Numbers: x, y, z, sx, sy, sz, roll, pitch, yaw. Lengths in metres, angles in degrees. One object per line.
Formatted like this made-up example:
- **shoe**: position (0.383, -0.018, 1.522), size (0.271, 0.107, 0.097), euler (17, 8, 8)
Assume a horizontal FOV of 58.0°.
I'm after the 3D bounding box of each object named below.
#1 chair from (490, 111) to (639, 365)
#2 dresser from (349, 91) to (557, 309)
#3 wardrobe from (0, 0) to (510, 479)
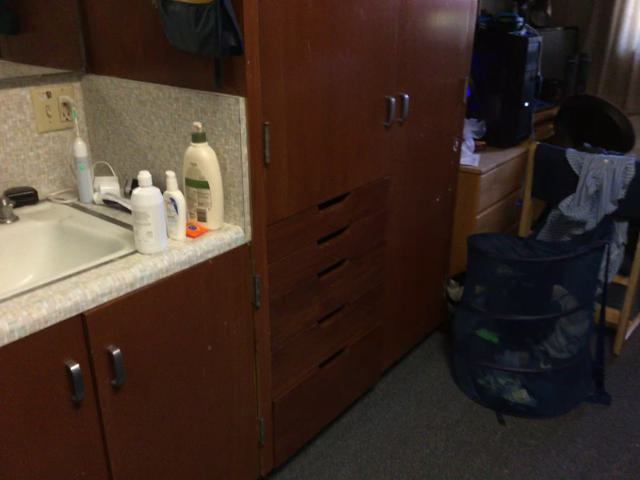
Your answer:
- **chair**: position (1.130, -0.050, 2.400), size (0.560, 0.800, 0.560), euler (18, 31, 35)
- **dresser**: position (0.660, -0.260, 2.940), size (0.700, 0.790, 0.770), euler (17, 31, 35)
- **wardrobe**: position (-0.630, -0.520, 1.070), size (0.850, 2.730, 2.950), euler (18, 31, 35)
